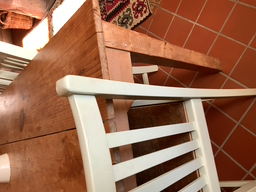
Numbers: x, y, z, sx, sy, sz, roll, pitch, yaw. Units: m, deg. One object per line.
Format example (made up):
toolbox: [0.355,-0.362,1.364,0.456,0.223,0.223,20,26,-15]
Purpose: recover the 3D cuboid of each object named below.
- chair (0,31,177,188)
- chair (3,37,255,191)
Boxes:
chair: [-0.230,0.060,1.140,0.470,0.900,0.500,-12,82,48]
chair: [0.130,0.190,0.750,0.480,0.890,0.470,-19,77,47]
